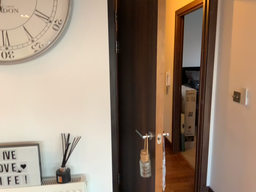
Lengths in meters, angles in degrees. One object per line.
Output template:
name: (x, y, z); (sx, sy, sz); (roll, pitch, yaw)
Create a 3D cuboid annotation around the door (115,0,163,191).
door: (0.040, 0.170, 1.520); (0.040, 1.980, 0.830); (-4, 11, -16)
